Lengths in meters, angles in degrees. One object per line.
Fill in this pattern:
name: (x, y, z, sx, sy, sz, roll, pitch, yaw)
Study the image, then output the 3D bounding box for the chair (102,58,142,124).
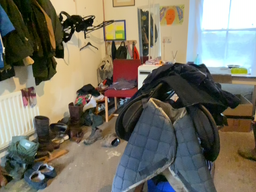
chair: (-0.060, -0.110, 3.260, 0.490, 0.890, 0.550, 2, 16, 11)

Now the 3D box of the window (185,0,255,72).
window: (1.480, -1.080, 3.360, 1.060, 1.360, 0.060, 4, 16, 20)
